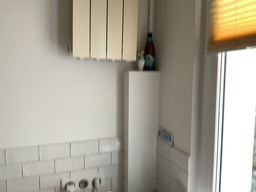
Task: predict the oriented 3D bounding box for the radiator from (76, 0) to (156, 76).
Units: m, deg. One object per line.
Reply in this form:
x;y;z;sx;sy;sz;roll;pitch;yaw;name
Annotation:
-0.060;-0.430;1.070;0.380;0.650;0.140;-1;5;-20;radiator
